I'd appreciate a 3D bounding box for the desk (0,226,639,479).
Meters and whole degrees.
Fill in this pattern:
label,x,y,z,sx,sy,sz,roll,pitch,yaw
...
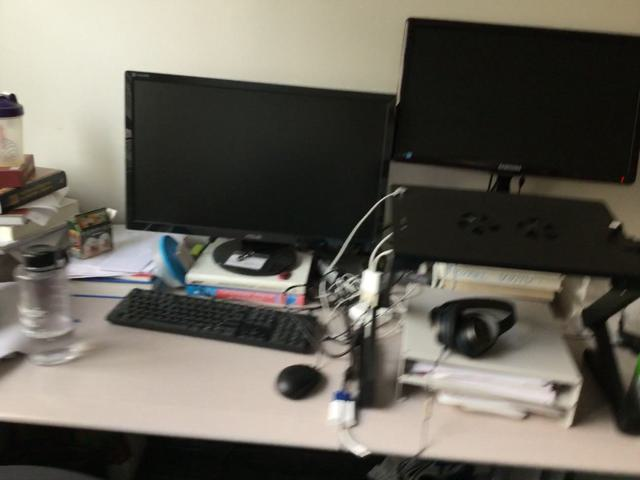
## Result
label,x,y,z,sx,sy,sz,roll,pitch,yaw
desk,-0.290,0.530,1.400,1.900,0.850,0.790,3,19,0

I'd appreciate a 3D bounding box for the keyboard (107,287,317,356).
label,x,y,z,sx,sy,sz,roll,pitch,yaw
keyboard,-0.220,0.170,1.250,0.410,0.050,0.180,2,20,6
